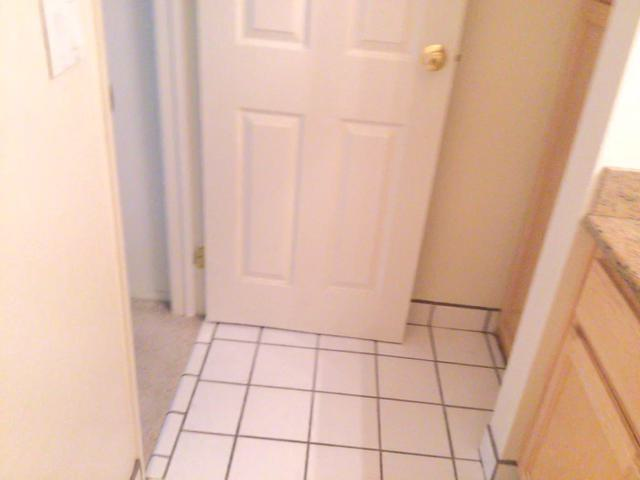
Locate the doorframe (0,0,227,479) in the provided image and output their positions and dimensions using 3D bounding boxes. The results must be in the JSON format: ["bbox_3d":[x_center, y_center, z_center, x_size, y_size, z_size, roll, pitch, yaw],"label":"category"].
[{"bbox_3d":[-0.460,-0.140,1.530,0.230,1.340,0.850,8,31,0],"label":"doorframe"}]

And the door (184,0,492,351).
[{"bbox_3d":[-0.010,-0.240,1.770,0.790,1.340,0.080,8,31,0],"label":"door"}]
